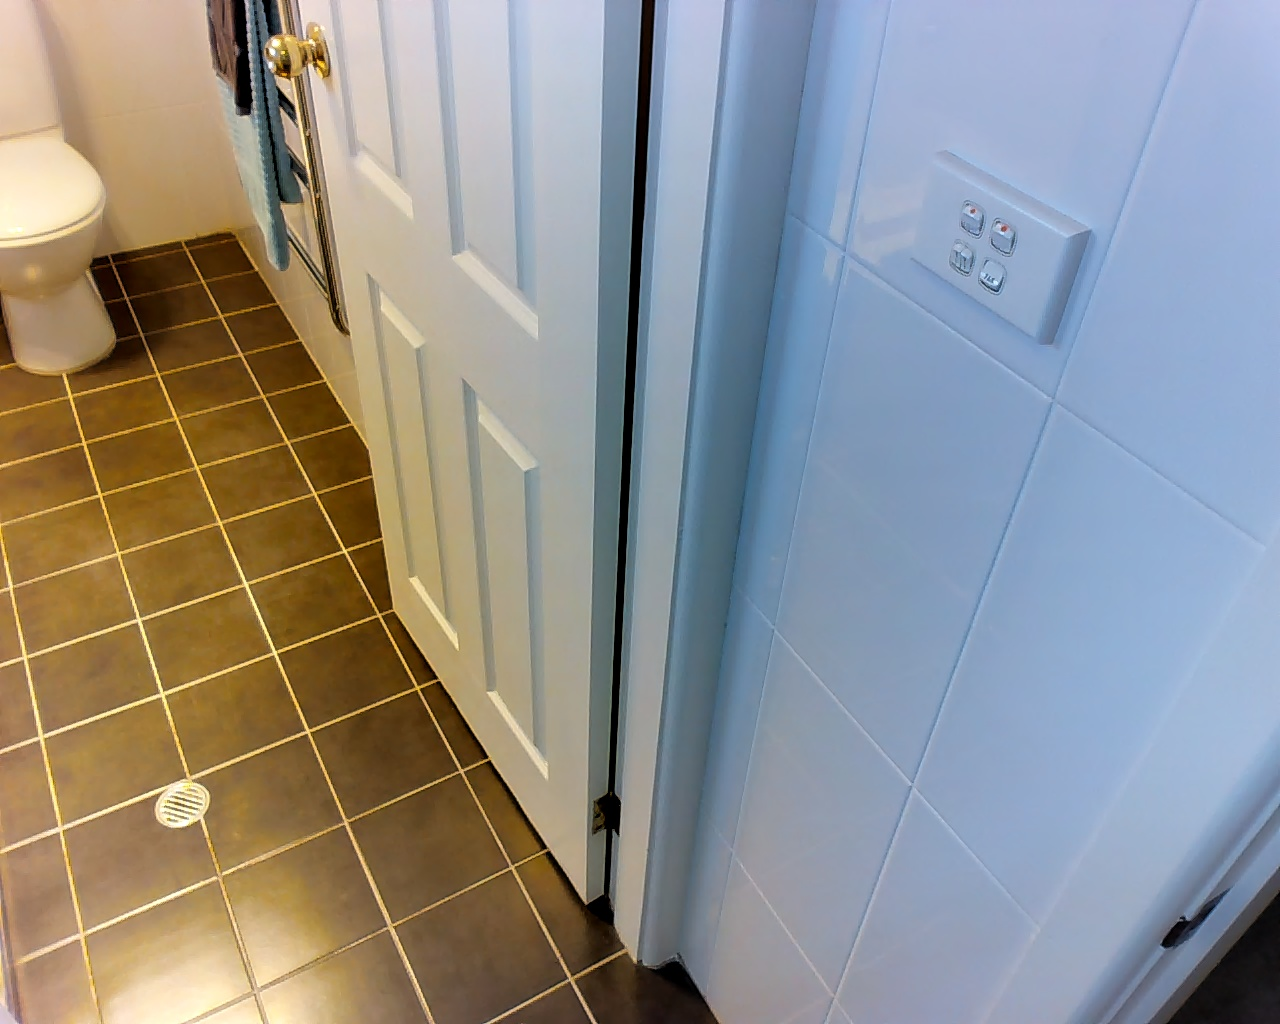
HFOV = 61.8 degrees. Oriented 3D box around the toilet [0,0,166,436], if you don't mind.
[{"bbox_3d":[-1.490,-0.740,2.480,0.410,0.830,0.700,-19,46,-24],"label":"toilet"}]
